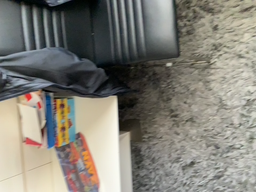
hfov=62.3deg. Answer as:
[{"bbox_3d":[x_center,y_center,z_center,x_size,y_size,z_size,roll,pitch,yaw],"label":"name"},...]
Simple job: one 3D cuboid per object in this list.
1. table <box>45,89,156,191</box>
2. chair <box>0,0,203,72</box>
[{"bbox_3d":[-0.150,0.560,1.380,0.530,0.390,1.160,-3,93,34],"label":"table"},{"bbox_3d":[-0.100,-0.360,0.900,0.540,0.990,0.440,-3,93,34],"label":"chair"}]
